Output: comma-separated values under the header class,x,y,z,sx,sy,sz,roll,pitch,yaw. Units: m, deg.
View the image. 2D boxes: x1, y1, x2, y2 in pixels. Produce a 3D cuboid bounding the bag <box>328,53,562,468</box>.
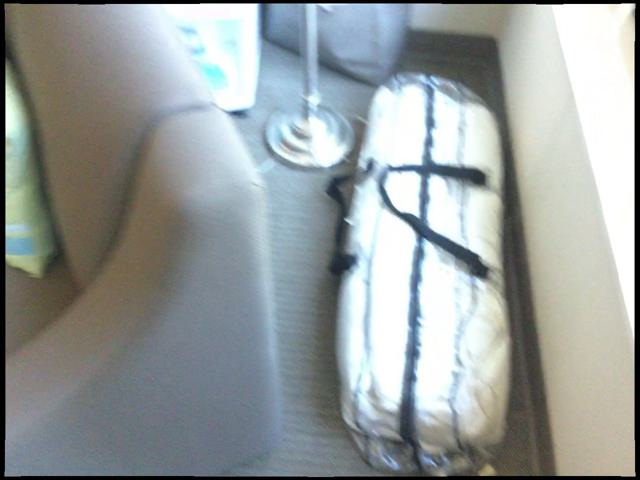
class,x,y,z,sx,sy,sz,roll,pitch,yaw
bag,0.279,-0.020,1.440,0.419,0.230,1.031,6,56,1
